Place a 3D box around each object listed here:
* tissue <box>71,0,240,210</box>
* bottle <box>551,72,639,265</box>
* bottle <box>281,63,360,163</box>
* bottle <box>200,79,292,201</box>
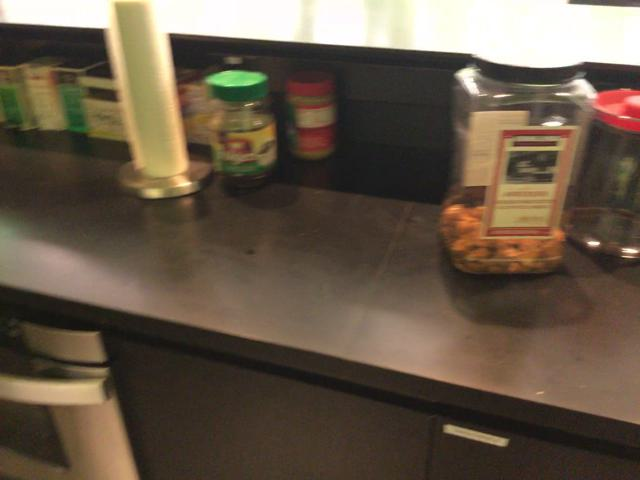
[{"bbox_3d":[-0.250,-0.250,0.930,0.180,0.340,0.160,12,31,15],"label":"tissue"},{"bbox_3d":[0.420,-0.100,0.790,0.150,0.200,0.170,12,31,15],"label":"bottle"},{"bbox_3d":[0.000,-0.230,1.040,0.110,0.140,0.100,12,31,15],"label":"bottle"},{"bbox_3d":[-0.120,-0.170,0.970,0.110,0.160,0.110,12,31,15],"label":"bottle"}]
